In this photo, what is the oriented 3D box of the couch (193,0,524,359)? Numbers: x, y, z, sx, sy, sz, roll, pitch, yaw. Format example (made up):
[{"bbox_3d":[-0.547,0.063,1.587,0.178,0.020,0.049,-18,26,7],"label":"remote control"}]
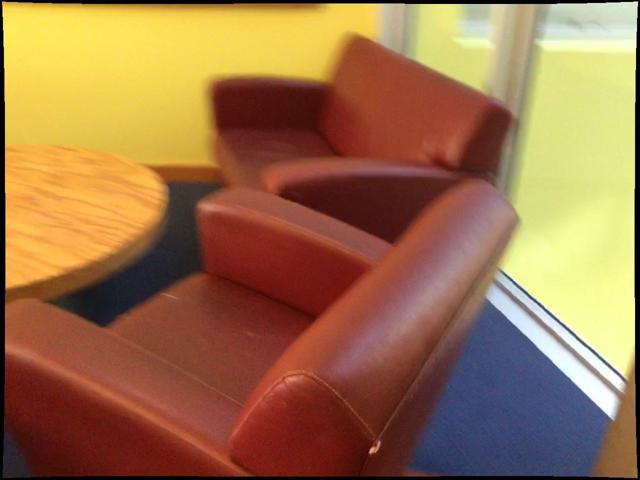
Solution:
[{"bbox_3d":[0.020,-0.350,2.500,0.849,0.780,1.341,-10,48,-18],"label":"couch"}]

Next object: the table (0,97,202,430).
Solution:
[{"bbox_3d":[-1.129,0.000,2.110,1.249,0.440,1.231,4,42,-8],"label":"table"}]
